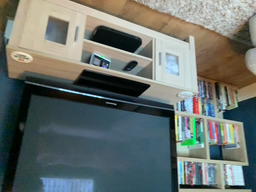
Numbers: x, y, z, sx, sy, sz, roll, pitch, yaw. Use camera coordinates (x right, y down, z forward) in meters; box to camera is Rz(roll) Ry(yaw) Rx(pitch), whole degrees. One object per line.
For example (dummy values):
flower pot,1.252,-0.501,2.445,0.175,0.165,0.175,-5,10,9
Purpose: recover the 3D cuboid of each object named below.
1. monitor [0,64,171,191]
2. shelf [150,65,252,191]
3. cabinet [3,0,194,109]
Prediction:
monitor,-0.160,0.240,1.290,0.970,0.680,0.060,11,159,-24
shelf,0.730,0.690,2.140,0.980,1.810,0.360,12,158,-25
cabinet,-0.160,-0.280,1.520,1.180,0.460,0.480,12,159,-25
